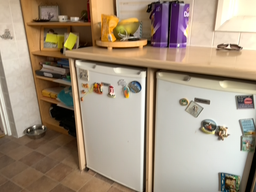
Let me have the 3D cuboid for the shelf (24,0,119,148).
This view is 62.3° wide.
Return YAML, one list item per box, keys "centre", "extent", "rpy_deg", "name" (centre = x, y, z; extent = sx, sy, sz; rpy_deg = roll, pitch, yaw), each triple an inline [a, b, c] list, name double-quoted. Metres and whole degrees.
- centre: [-0.500, -0.630, 1.830]
  extent: [0.840, 2.050, 0.280]
  rpy_deg: [15, 26, 32]
  name: "shelf"

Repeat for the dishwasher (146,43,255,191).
- centre: [0.470, 0.190, 1.260]
  extent: [0.500, 0.900, 0.580]
  rpy_deg: [12, 24, 29]
  name: "dishwasher"
